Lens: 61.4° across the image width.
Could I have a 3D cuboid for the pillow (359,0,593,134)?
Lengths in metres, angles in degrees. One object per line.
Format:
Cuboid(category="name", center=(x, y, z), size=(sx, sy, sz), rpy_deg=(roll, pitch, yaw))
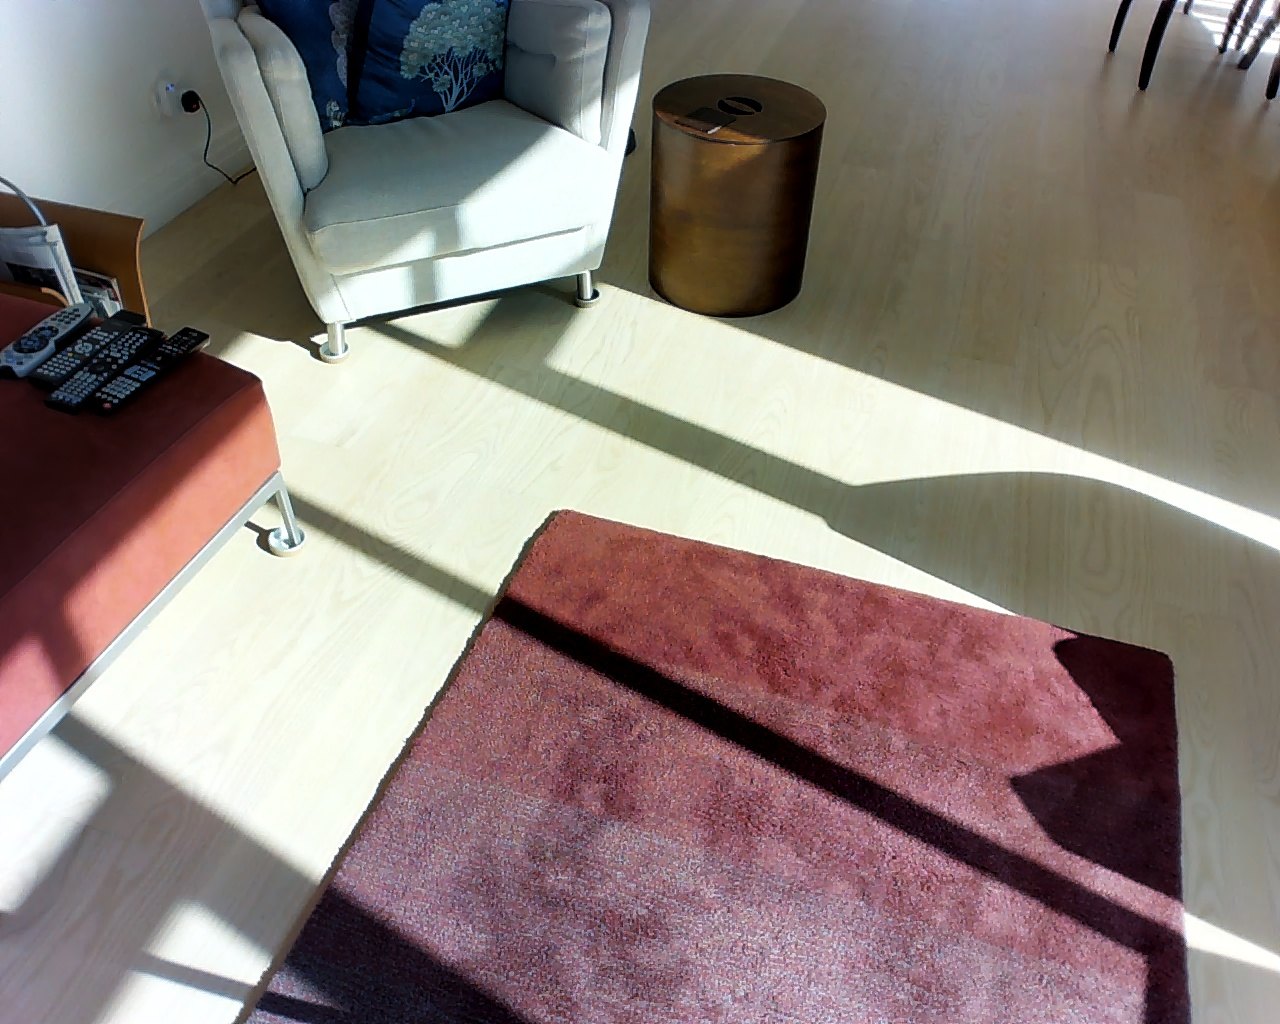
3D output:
Cuboid(category="pillow", center=(-0.370, -1.070, 2.430), size=(0.480, 0.300, 0.260), rpy_deg=(-9, 43, -13))
